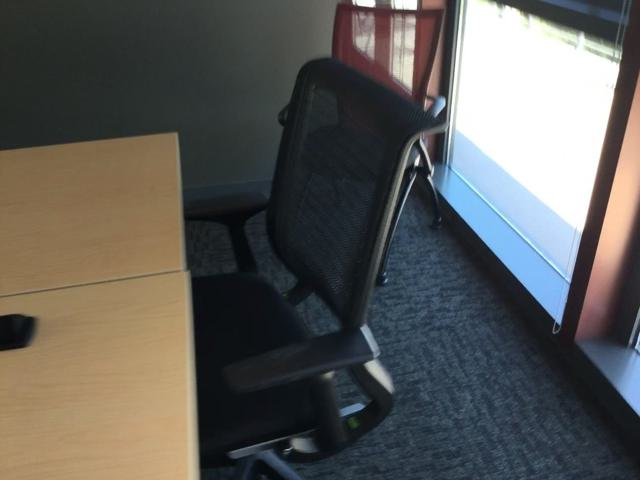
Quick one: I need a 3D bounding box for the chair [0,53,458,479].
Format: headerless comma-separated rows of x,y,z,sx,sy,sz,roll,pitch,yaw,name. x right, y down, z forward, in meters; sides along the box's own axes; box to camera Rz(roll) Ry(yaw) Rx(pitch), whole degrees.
-0.230,0.210,1.210,0.740,1.000,0.590,-10,30,-14,chair

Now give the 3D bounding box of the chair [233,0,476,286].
0.160,-0.430,2.270,0.650,0.900,0.640,13,31,27,chair
